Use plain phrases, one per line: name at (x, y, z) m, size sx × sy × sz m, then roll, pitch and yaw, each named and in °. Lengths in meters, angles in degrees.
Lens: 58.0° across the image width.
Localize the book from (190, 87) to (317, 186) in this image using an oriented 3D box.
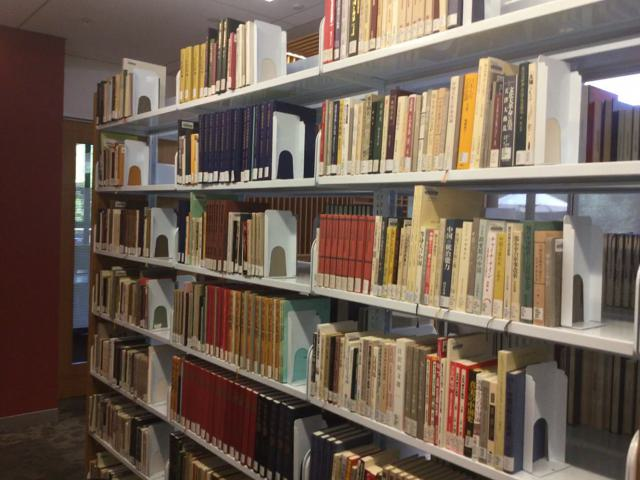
book at (-0.250, -0.340, 2.030) m, size 0.160 × 0.280 × 0.540 m, roll 2°, pitch 2°, yaw -40°

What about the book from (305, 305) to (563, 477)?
book at (0.260, 0.350, 1.520) m, size 0.210 × 0.260 × 0.660 m, roll 2°, pitch 2°, yaw -41°

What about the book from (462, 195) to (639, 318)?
book at (0.670, 0.030, 1.620) m, size 0.210 × 0.280 × 0.470 m, roll 2°, pitch 3°, yaw -41°

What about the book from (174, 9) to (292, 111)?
book at (-0.340, -0.640, 2.130) m, size 0.150 × 0.250 × 0.570 m, roll 2°, pitch 3°, yaw -39°

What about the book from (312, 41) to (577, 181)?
book at (0.270, -0.290, 1.470) m, size 0.160 × 0.260 × 0.680 m, roll 2°, pitch 2°, yaw -42°

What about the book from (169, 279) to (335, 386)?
book at (-0.280, 0.310, 2.130) m, size 0.210 × 0.250 × 0.740 m, roll 2°, pitch 2°, yaw -41°

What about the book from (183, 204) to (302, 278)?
book at (-0.300, -0.010, 2.100) m, size 0.140 × 0.230 × 0.550 m, roll 0°, pitch 3°, yaw -41°

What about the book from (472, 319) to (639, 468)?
book at (0.660, 0.390, 1.560) m, size 0.110 × 0.260 × 0.480 m, roll 2°, pitch 3°, yaw -41°

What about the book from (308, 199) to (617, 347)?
book at (0.310, 0.040, 1.490) m, size 0.240 × 0.270 × 0.760 m, roll -3°, pitch 7°, yaw -41°

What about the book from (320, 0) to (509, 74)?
book at (0.230, -0.610, 1.510) m, size 0.150 × 0.240 × 0.500 m, roll 3°, pitch 2°, yaw -41°
